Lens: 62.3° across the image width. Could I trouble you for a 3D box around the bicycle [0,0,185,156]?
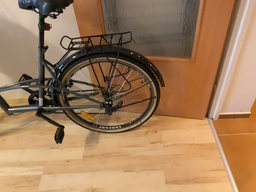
[{"bbox_3d":[-0.600,-0.160,1.240,1.650,1.020,0.520,-2,43,3],"label":"bicycle"}]
